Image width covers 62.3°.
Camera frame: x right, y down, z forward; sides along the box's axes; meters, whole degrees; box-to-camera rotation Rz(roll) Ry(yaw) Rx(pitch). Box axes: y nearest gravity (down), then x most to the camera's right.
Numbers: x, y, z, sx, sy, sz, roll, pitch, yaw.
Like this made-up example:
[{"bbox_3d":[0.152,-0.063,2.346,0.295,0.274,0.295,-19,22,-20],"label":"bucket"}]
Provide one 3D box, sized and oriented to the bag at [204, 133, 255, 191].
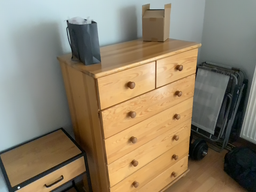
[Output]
[{"bbox_3d":[1.020,0.610,1.740,0.410,0.220,0.600,-20,31,-31],"label":"bag"}]
